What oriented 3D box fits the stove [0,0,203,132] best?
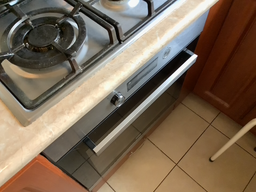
[{"bbox_3d":[-0.170,-0.290,0.580,0.540,0.090,0.570,40,67,22],"label":"stove"}]
